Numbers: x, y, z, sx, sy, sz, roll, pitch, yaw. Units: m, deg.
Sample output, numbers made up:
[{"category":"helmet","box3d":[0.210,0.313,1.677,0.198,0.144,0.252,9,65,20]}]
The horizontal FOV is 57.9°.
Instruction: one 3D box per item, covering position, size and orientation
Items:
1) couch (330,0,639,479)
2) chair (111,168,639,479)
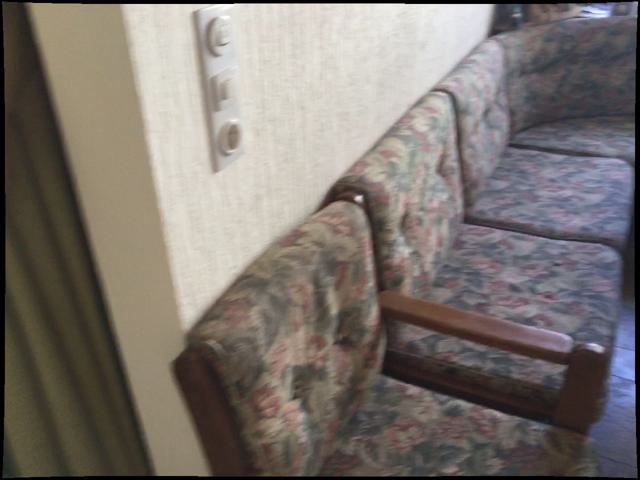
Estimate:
[{"category":"couch","box3d":[1.179,-0.110,1.920,1.529,0.911,2.090,15,38,22]},{"category":"chair","box3d":[0.170,0.440,1.140,0.699,0.851,0.630,15,38,22]}]
